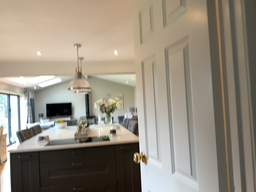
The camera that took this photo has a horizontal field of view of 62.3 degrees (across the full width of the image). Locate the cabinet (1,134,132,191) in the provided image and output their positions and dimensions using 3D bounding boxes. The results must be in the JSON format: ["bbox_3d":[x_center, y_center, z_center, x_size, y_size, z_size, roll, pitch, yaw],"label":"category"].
[{"bbox_3d":[-0.740,1.030,2.820,1.490,0.870,0.620,-2,-1,-9],"label":"cabinet"}]
